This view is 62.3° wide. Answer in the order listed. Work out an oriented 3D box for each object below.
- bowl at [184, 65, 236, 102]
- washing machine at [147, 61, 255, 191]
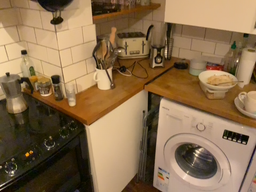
[{"bbox_3d":[0.530,-0.090,1.370,0.230,0.100,0.240,21,36,32],"label":"bowl"},{"bbox_3d":[0.620,0.320,1.670,0.620,0.920,0.680,22,36,33],"label":"washing machine"}]
